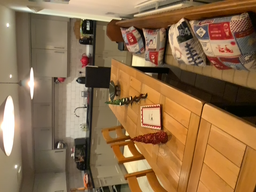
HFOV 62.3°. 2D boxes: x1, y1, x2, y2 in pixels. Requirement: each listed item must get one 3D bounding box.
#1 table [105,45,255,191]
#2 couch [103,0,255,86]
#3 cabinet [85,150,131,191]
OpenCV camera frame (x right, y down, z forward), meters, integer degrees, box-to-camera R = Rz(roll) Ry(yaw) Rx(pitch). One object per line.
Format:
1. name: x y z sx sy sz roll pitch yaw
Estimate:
1. table: 0.480 0.010 2.510 3.000 0.790 0.890 -137 50 -64
2. couch: 0.550 -0.660 2.080 3.080 0.920 0.580 -140 53 -65
3. cabinet: -0.530 1.850 5.200 0.820 0.910 0.590 -135 49 -64
